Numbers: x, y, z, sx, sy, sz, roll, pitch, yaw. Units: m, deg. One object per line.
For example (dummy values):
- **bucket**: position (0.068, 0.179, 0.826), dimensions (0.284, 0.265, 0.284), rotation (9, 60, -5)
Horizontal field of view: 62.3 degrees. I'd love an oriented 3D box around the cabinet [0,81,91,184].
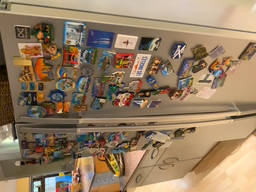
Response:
- **cabinet**: position (-0.840, 0.360, 1.910), dimensions (1.040, 0.820, 0.330), rotation (110, 150, -42)
